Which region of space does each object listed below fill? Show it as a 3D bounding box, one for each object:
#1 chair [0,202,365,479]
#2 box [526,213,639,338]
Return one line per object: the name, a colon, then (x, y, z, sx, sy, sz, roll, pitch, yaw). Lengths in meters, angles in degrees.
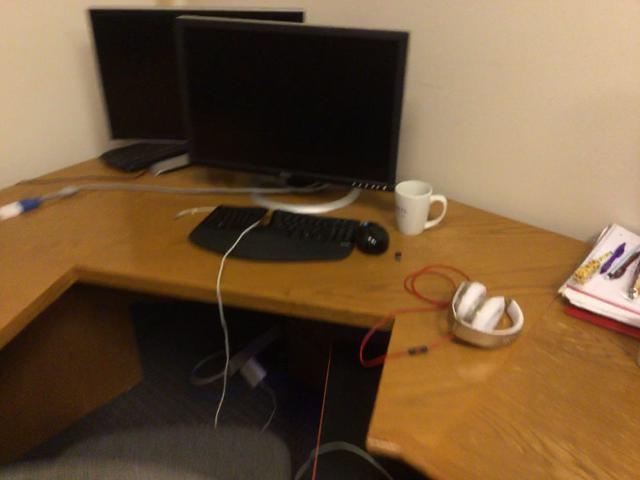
chair: (-0.280, 0.500, 1.010, 0.600, 0.940, 0.610, -2, 29, -4)
box: (0.580, 0.060, 1.140, 0.230, 0.070, 0.280, 22, 36, 34)
